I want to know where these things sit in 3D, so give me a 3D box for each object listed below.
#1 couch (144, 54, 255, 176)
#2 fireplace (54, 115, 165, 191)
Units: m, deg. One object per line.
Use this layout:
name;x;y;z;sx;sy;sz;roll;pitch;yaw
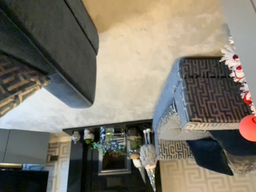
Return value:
couch;0.860;0.330;2.180;1.200;0.760;1.460;0;154;-3
fireplace;-0.240;0.980;3.020;1.390;1.130;0.550;-8;153;12
